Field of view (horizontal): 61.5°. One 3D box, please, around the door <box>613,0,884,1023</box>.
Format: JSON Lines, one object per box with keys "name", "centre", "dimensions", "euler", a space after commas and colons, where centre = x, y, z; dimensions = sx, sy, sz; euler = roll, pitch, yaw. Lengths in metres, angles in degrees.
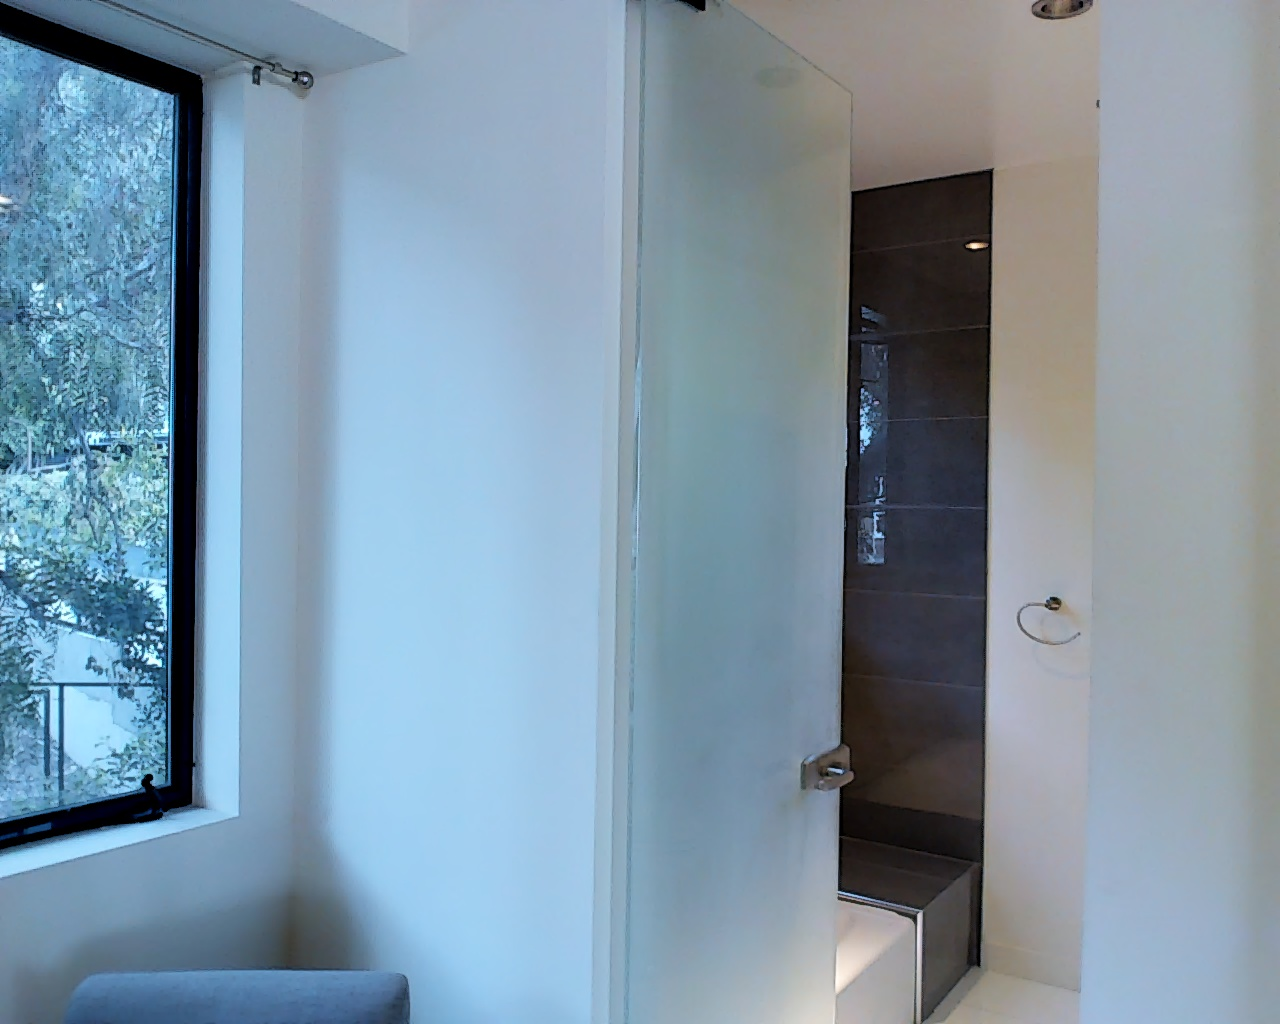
{"name": "door", "centre": [0.240, 0.200, 2.090], "dimensions": [0.080, 2.640, 0.800], "euler": [1, 1, 37]}
